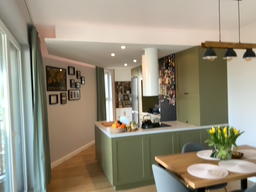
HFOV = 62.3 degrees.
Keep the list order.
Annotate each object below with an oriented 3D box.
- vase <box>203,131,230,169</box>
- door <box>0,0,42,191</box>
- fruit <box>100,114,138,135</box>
[{"bbox_3d":[0.990,0.600,2.380,0.240,0.360,0.150,-2,2,-16],"label":"vase"},{"bbox_3d":[-0.900,0.250,0.980,0.290,2.600,5.330,-2,2,-16],"label":"door"},{"bbox_3d":[-0.170,0.480,3.670,0.530,0.250,0.500,-2,2,-17],"label":"fruit"}]
